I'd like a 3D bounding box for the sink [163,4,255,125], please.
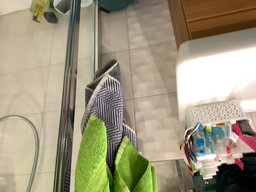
[{"bbox_3d":[0.550,-0.100,0.560,0.870,0.130,0.370,-9,152,10],"label":"sink"}]
